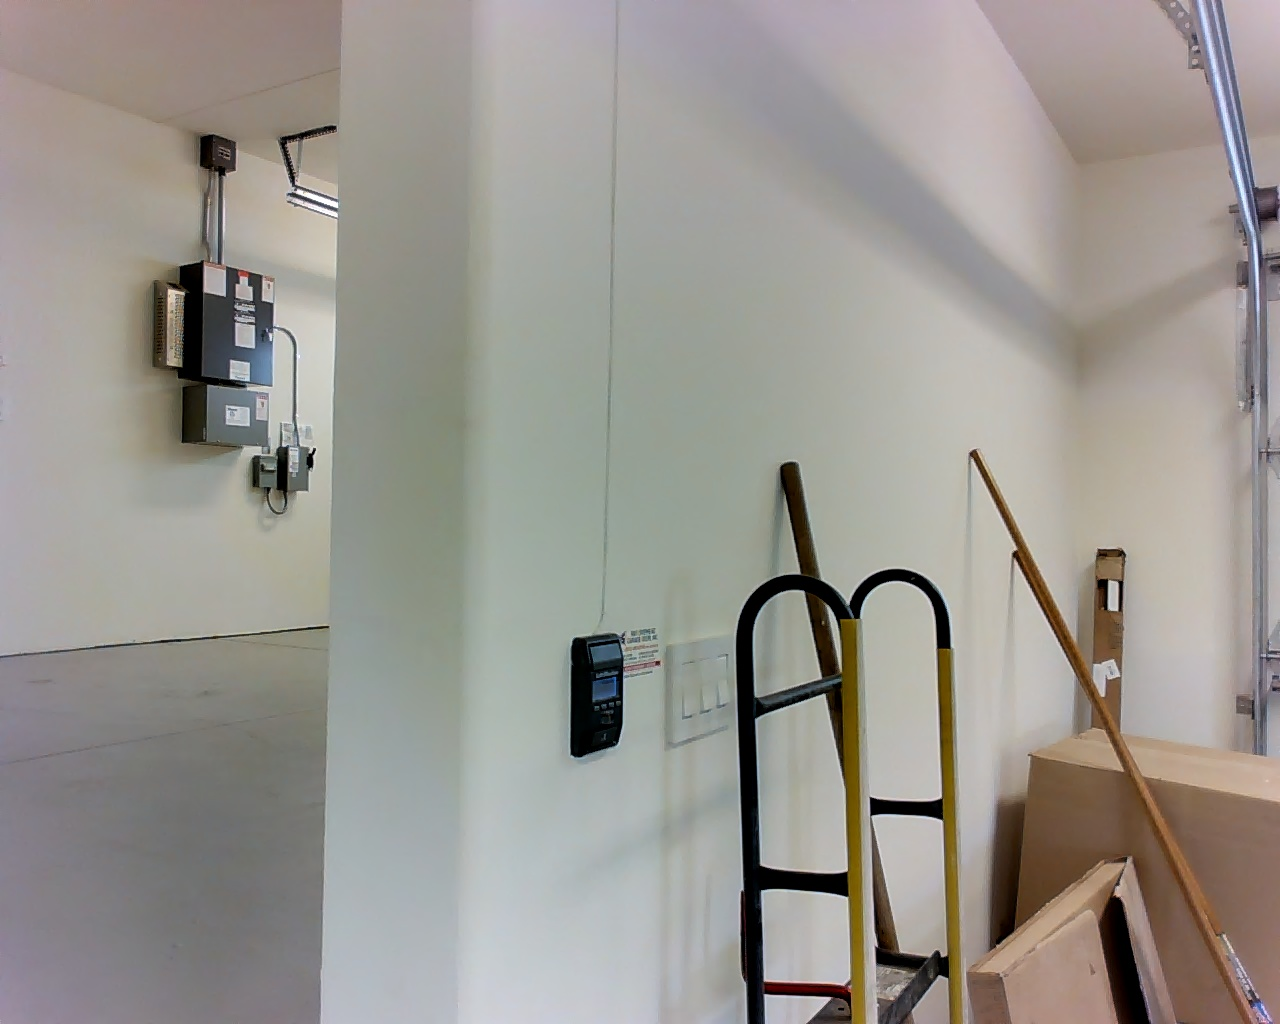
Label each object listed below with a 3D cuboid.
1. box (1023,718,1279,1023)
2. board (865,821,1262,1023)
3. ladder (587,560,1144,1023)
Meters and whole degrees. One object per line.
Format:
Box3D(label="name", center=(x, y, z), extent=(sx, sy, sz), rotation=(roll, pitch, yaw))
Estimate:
Box3D(label="box", center=(1.340, 0.980, 2.570), extent=(0.660, 0.820, 0.580), rotation=(0, -1, 36))
Box3D(label="board", center=(0.860, 1.140, 2.060), extent=(0.550, 0.790, 0.970), rotation=(0, -1, 32))
Box3D(label="ladder", center=(0.350, 0.830, 1.380), extent=(0.440, 1.510, 0.850), rotation=(0, -1, 32))
